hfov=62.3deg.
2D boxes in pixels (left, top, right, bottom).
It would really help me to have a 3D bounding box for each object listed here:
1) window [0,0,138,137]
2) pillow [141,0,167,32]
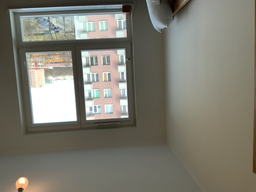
[{"bbox_3d":[-0.840,-0.480,3.260,1.880,2.110,0.200,-3,-174,-3],"label":"window"},{"bbox_3d":[0.290,-0.990,2.430,0.220,0.420,0.330,-3,-174,-3],"label":"pillow"}]
